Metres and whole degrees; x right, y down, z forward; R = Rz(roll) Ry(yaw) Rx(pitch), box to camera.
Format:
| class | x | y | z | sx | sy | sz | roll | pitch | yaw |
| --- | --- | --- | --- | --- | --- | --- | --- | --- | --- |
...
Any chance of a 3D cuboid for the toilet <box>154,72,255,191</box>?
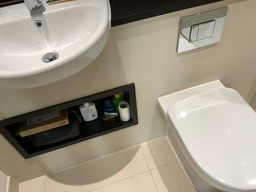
| class | x | y | z | sx | sy | sz | roll | pitch | yaw |
| --- | --- | --- | --- | --- | --- | --- | --- | --- | --- |
| toilet | 0.410 | 0.260 | 1.060 | 0.380 | 0.450 | 0.520 | -15 | 48 | -8 |
